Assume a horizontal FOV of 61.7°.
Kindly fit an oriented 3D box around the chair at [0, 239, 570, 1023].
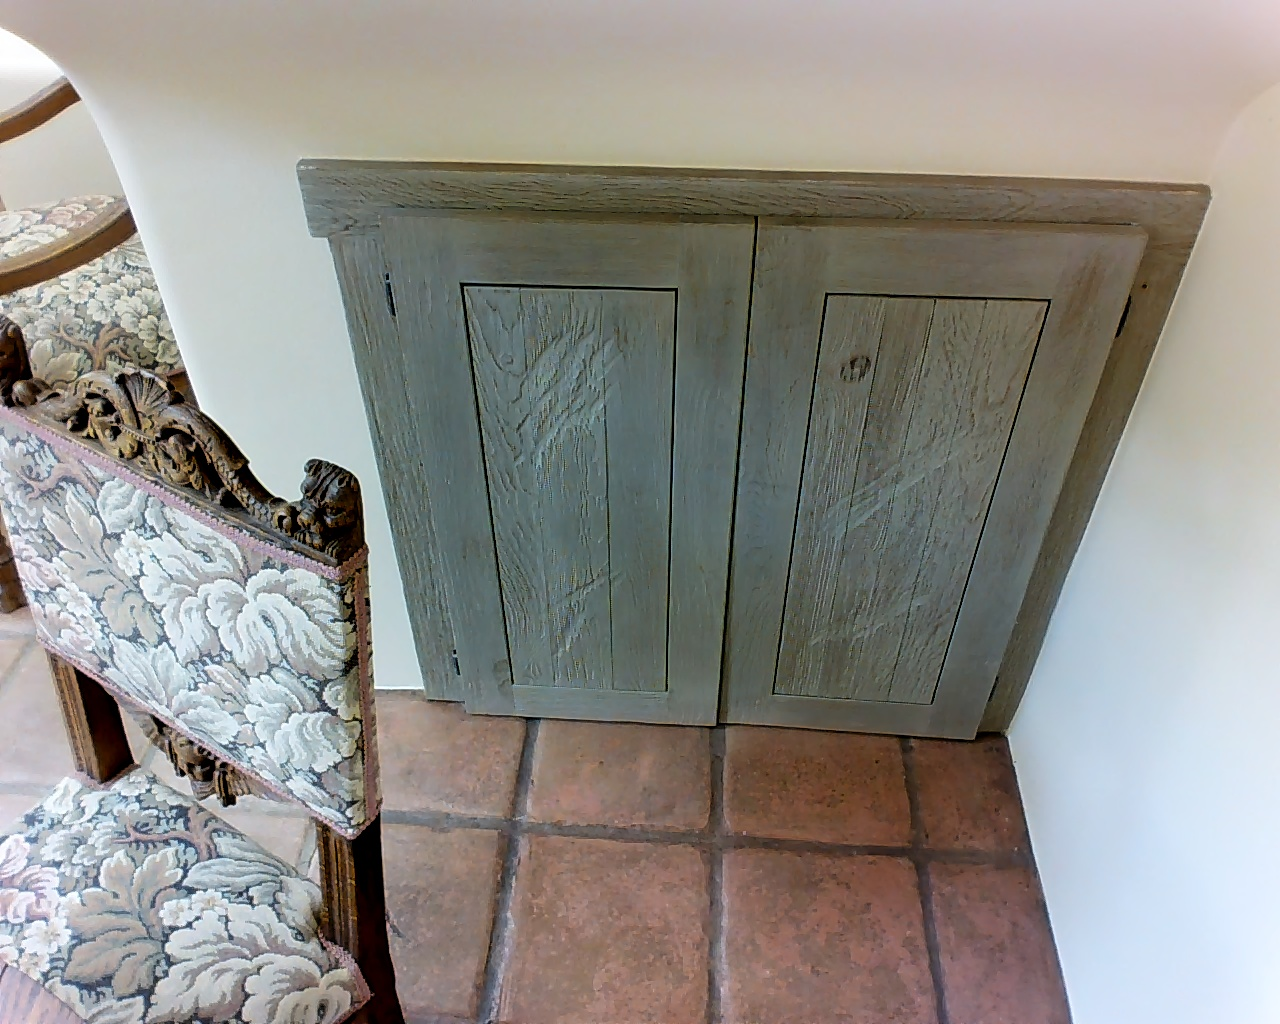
[{"bbox_3d":[-0.510,0.390,1.020,0.560,0.970,0.680,20,46,22],"label":"chair"}]
